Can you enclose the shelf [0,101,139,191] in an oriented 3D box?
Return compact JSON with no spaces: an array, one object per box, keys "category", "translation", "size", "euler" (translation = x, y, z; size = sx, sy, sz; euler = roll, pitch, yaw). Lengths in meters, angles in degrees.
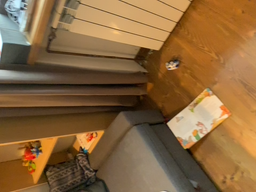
[{"category":"shelf","translation":[-0.730,0.360,1.460],"size":[0.250,1.700,0.610],"euler":[54,127,31]}]
